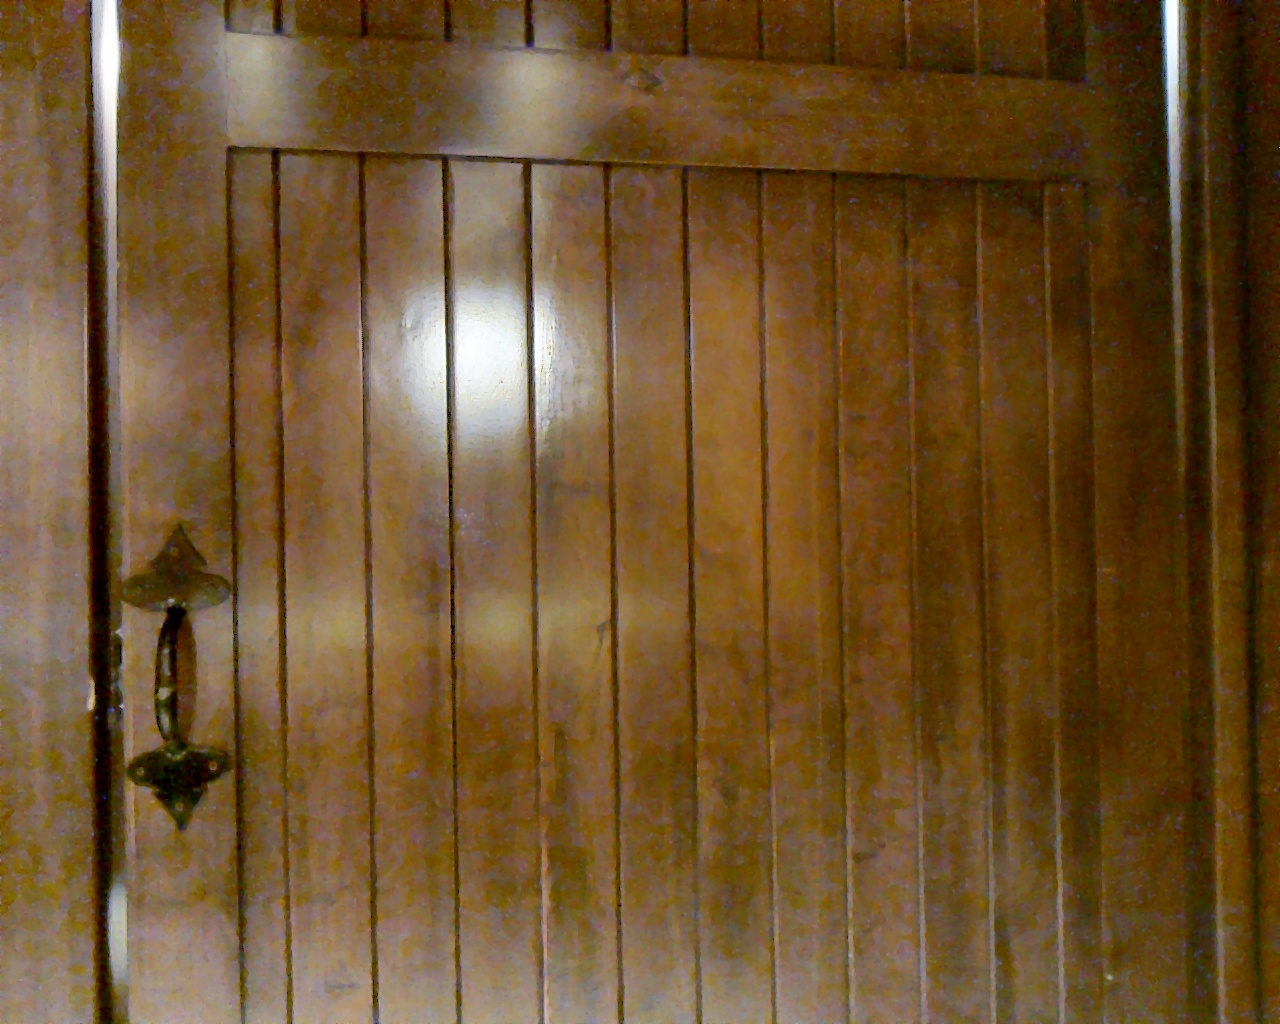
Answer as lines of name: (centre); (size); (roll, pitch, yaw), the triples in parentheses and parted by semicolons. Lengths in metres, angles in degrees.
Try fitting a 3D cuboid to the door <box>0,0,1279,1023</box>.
door: (0.040, 0.000, 1.030); (1.270, 2.260, 0.080); (0, -1, -12)
